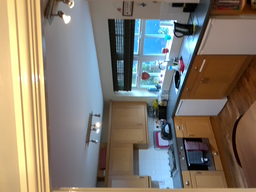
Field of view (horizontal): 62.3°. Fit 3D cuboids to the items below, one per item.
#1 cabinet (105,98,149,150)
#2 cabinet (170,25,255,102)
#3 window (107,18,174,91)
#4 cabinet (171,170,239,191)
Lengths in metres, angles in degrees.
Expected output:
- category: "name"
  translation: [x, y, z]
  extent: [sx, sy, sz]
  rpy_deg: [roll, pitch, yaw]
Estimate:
- category: "cabinet"
  translation: [-0.030, 0.580, 4.540]
  extent: [0.350, 0.840, 1.060]
  rpy_deg: [92, 178, -52]
- category: "cabinet"
  translation: [1.280, -0.480, 3.440]
  extent: [1.080, 0.920, 0.650]
  rpy_deg: [92, 178, -52]
- category: "window"
  translation: [0.180, -0.680, 4.080]
  extent: [1.760, 1.060, 0.090]
  rpy_deg: [92, 178, -54]
- category: "cabinet"
  translation: [1.270, 1.570, 3.630]
  extent: [0.610, 0.900, 0.380]
  rpy_deg: [92, 178, -52]
